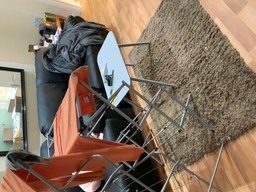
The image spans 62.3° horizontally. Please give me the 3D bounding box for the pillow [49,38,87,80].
[{"bbox_3d":[-0.790,-0.480,2.750,0.130,0.290,0.570,47,126,17],"label":"pillow"}]

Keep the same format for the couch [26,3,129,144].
[{"bbox_3d":[-0.790,-0.300,2.840,0.830,0.900,1.590,-53,45,39],"label":"couch"}]

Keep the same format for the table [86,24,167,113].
[{"bbox_3d":[-0.050,-0.260,2.090,0.400,0.470,0.750,-54,44,38],"label":"table"}]
